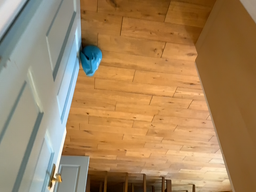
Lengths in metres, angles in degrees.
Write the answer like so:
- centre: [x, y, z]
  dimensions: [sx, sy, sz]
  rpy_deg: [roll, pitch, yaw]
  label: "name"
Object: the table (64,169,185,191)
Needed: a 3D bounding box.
- centre: [-0.090, 1.890, 3.680]
  dimensions: [1.960, 0.790, 0.930]
  rpy_deg: [7, 140, -9]
  label: "table"
